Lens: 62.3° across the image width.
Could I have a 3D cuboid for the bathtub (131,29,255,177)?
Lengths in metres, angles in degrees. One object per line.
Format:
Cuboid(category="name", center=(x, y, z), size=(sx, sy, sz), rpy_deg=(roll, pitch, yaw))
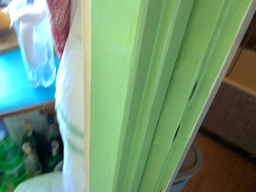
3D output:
Cuboid(category="bathtub", center=(0.760, -0.020, 1.840), size=(1.260, 0.570, 0.660), rpy_deg=(31, 44, 25))
